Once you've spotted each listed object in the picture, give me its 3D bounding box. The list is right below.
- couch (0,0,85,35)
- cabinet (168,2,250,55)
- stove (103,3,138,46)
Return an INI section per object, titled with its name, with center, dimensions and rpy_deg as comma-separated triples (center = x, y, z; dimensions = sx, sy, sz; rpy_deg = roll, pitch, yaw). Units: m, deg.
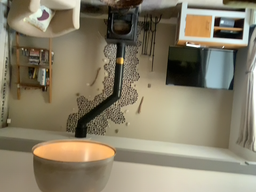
[couch]
center = -1.150, -1.300, 2.910
dimensions = 0.720, 0.680, 0.790
rpy_deg = 7, -178, 34
[cabinet]
center = 1.310, -1.110, 3.620
dimensions = 1.100, 0.600, 0.660
rpy_deg = 6, -178, 3
[stove]
center = -0.120, -1.220, 3.680
dimensions = 0.510, 0.560, 0.420
rpy_deg = 6, -178, 2
